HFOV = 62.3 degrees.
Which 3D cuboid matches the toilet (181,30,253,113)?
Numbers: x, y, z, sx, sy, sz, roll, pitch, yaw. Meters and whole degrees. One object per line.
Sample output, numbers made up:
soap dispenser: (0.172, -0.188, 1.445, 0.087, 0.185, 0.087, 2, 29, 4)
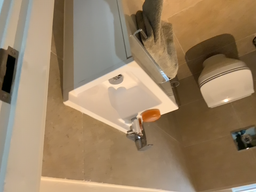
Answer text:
toilet: (0.760, -0.170, 1.790, 0.390, 0.370, 0.540, -22, 147, 22)
